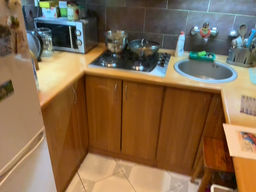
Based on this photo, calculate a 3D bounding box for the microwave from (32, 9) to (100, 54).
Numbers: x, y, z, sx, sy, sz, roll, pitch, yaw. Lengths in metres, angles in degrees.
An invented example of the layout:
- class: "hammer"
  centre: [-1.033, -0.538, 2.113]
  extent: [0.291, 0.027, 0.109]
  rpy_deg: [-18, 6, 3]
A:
- class: "microwave"
  centre: [-0.520, -0.580, 1.870]
  extent: [0.460, 0.290, 0.310]
  rpy_deg: [9, 30, 11]
